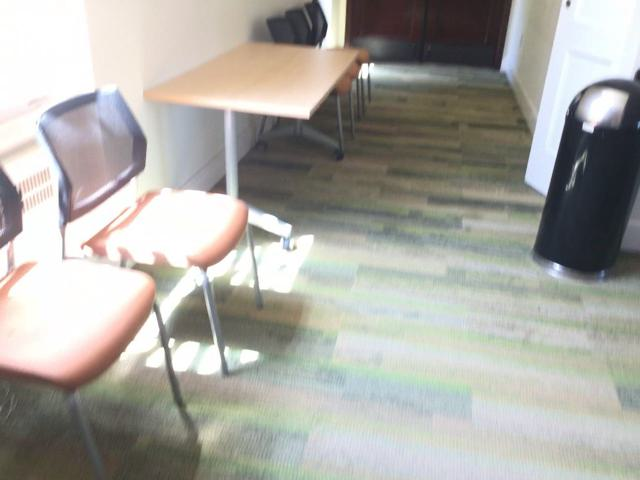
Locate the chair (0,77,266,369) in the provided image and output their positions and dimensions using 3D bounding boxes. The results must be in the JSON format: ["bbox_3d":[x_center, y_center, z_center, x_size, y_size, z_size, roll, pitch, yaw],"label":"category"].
[{"bbox_3d":[-0.560,-0.080,1.970,0.620,0.810,0.490,6,26,9],"label":"chair"}]
